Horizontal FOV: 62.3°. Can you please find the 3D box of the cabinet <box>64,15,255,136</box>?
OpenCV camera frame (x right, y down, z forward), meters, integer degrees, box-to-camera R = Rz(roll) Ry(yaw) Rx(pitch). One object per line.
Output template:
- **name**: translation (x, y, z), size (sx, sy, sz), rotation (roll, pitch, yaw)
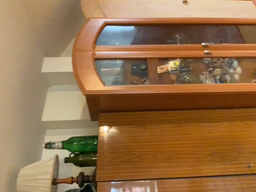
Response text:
- **cabinet**: translation (0.590, -0.160, 1.760), size (0.640, 2.000, 0.720), rotation (95, 173, -57)
